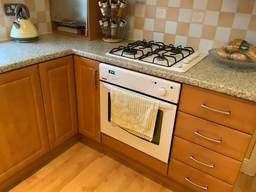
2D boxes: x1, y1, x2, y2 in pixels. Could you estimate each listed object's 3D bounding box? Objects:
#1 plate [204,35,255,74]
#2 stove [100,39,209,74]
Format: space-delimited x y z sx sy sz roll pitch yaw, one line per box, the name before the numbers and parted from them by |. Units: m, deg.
plate | 0.700 -0.280 1.370 0.320 0.150 0.260 18 31 28
stove | 0.210 -0.310 1.510 0.580 0.010 0.570 19 31 28
